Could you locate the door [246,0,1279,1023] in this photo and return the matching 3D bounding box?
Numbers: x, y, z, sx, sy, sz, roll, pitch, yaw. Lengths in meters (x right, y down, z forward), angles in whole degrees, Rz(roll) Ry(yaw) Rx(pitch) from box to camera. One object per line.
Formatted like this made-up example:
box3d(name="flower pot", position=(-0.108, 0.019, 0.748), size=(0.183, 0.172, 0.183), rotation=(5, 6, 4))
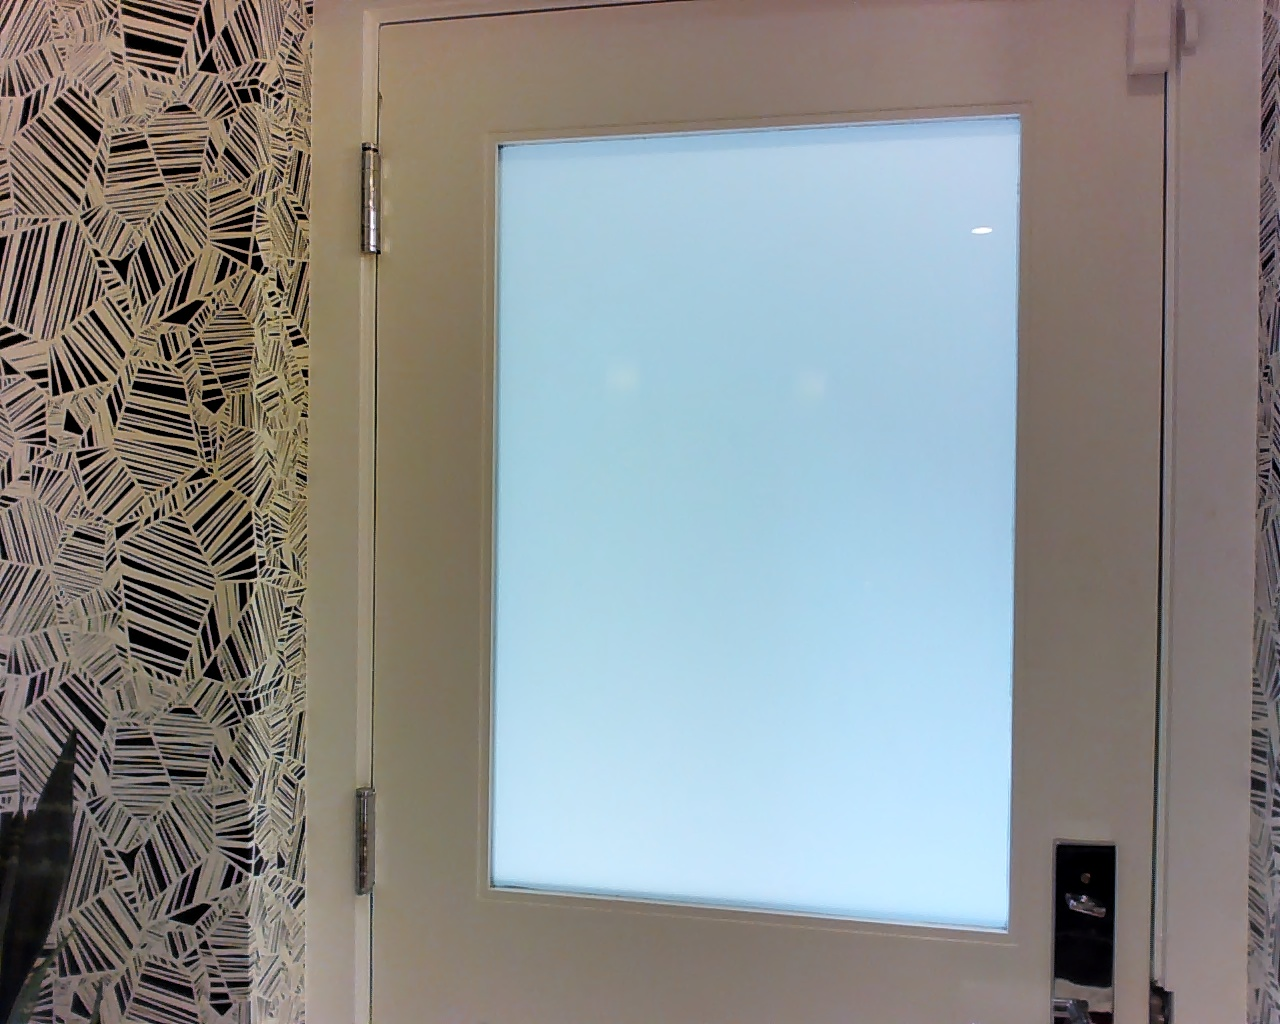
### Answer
box3d(name="door", position=(0.110, 0.400, 1.200), size=(1.090, 2.210, 0.190), rotation=(1, 1, 11))
